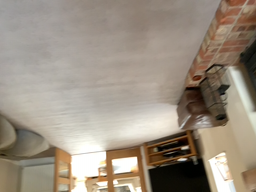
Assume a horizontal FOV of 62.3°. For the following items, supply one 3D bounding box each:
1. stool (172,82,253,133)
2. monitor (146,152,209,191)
[{"bbox_3d":[1.030,0.170,2.760,0.710,0.380,0.660,-4,154,-6],"label":"stool"},{"bbox_3d":[0.950,1.670,4.310,1.210,0.780,0.080,-23,150,30],"label":"monitor"}]
